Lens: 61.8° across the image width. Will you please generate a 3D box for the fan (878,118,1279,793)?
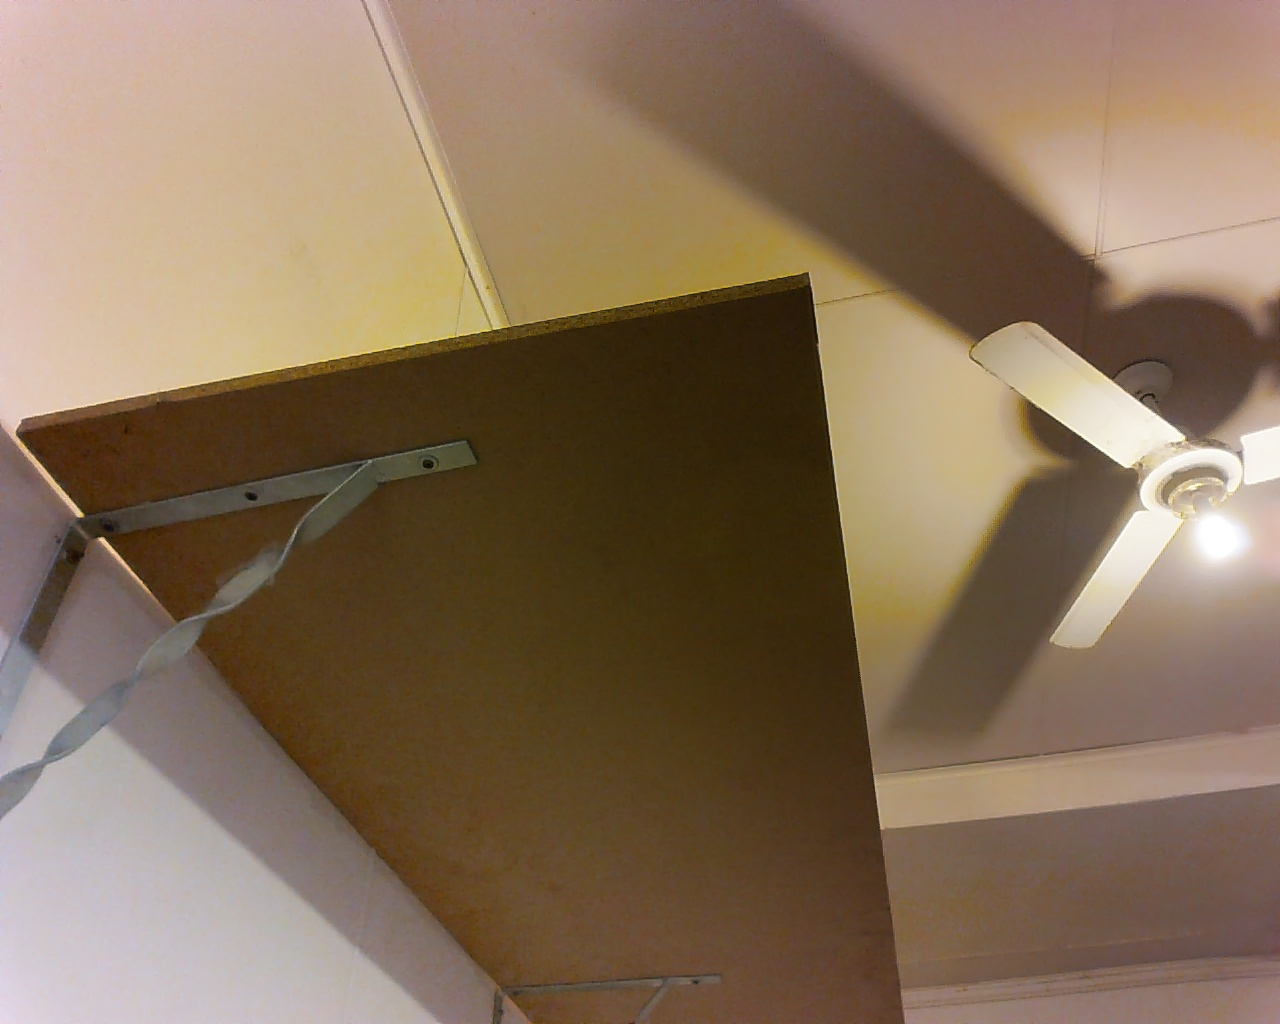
[{"bbox_3d":[1.110,-0.080,2.280,1.140,1.320,0.260,-25,46,-7],"label":"fan"}]
